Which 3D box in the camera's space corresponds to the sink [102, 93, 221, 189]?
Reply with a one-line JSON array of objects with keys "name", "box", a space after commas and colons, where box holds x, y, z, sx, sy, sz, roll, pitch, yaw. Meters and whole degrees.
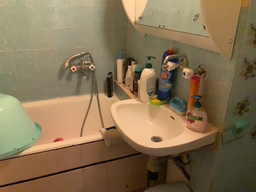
[{"name": "sink", "box": [0.130, 0.180, 1.110, 0.410, 0.180, 0.490, -8, 24, -20]}]

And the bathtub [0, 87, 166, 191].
[{"name": "bathtub", "box": [-0.530, 0.410, 1.590, 1.430, 0.600, 0.660, -8, 24, -20]}]
